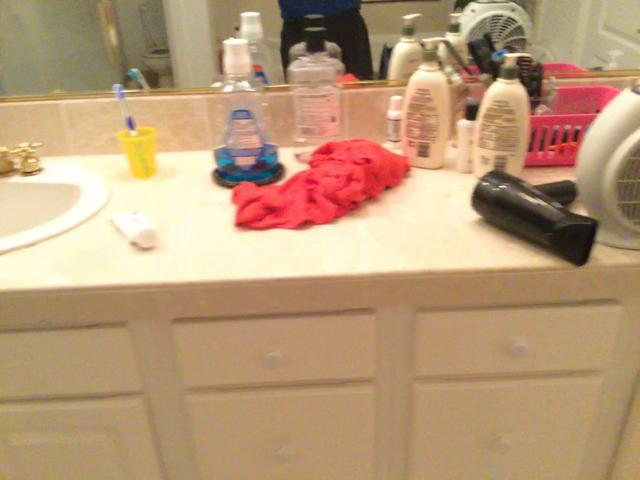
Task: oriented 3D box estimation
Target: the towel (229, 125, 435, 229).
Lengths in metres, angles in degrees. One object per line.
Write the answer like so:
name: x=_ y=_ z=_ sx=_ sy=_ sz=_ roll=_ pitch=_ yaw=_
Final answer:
towel: x=0.020 y=-0.130 z=1.090 sx=0.330 sy=0.100 sz=0.310 roll=-1 pitch=24 yaw=0
